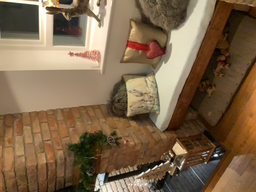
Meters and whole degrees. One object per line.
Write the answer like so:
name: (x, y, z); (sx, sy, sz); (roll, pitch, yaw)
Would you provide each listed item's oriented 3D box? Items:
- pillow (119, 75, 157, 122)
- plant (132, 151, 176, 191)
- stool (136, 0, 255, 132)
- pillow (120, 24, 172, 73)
pillow: (0.110, 0.020, 2.200); (0.140, 0.300, 0.410); (-13, 93, 43)
plant: (0.330, 0.980, 2.780); (0.180, 0.460, 0.410); (53, 138, 46)
stool: (0.600, -0.340, 2.150); (0.580, 0.570, 1.270); (54, 139, 45)
pillow: (0.160, -0.440, 2.020); (0.200, 0.350, 0.390); (56, 140, 44)
